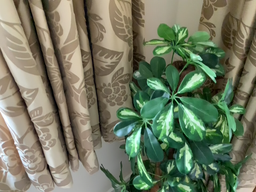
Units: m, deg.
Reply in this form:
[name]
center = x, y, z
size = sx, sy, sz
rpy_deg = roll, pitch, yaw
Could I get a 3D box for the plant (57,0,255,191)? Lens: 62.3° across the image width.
[plant]
center = 0.120, 0.260, 0.880
size = 0.440, 1.140, 0.470
rpy_deg = -24, 41, -30
